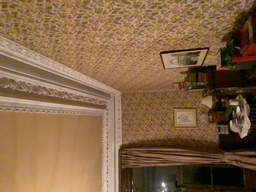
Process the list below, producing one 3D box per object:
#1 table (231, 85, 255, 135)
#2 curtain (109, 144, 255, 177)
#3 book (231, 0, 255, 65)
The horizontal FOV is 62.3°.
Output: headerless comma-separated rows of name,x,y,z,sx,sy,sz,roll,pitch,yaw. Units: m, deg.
table,2.330,0.250,3.750,0.760,0.730,0.800,21,-113,-76
curtain,1.240,1.400,4.770,0.460,3.360,0.560,28,-119,-75
book,0.890,-0.440,1.400,0.410,0.280,0.350,25,-117,-75
